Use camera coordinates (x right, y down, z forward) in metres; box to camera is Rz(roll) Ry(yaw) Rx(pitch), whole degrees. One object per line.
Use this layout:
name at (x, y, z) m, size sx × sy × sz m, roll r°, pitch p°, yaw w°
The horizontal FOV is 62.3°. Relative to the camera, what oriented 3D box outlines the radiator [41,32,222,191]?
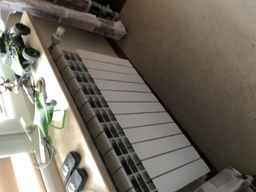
radiator at (0.020, 0.070, 1.130) m, size 0.100 × 0.670 × 0.950 m, roll -50°, pitch 59°, yaw 30°
